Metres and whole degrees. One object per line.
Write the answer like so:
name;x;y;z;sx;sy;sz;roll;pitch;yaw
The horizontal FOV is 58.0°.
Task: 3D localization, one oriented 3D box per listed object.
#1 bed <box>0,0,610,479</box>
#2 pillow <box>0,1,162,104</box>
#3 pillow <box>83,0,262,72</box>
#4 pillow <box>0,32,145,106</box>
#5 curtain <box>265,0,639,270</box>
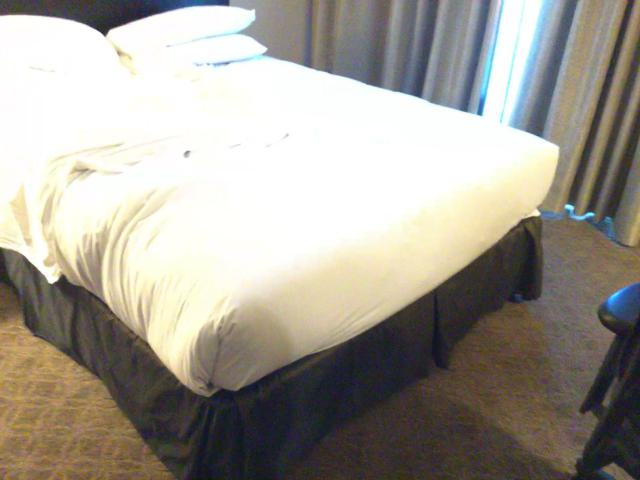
bed;-0.360;-0.290;2.230;2.080;0.930;1.590;25;40;37
pillow;-1.090;-0.780;2.340;0.420;0.260;0.730;25;37;37
pillow;-0.660;-0.950;2.630;0.520;0.190;0.580;25;37;37
pillow;-1.120;-0.700;2.320;0.440;0.140;0.650;25;37;37
curtain;0.870;-0.960;2.780;2.880;1.560;0.490;26;37;37
